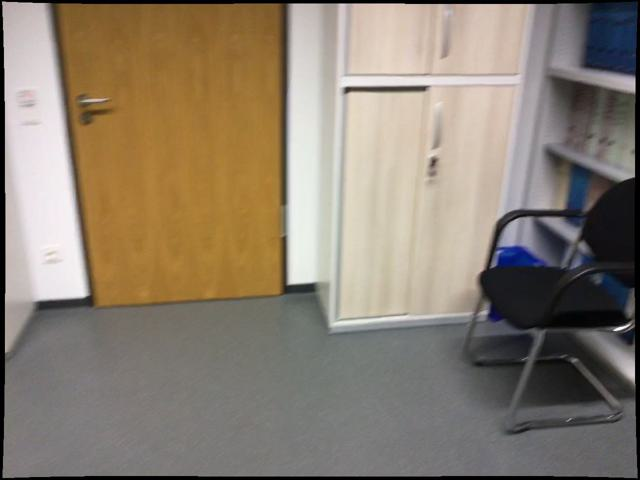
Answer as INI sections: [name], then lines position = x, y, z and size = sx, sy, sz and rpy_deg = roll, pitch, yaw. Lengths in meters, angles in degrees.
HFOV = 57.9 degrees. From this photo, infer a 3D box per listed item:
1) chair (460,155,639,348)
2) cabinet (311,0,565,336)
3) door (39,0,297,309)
[chair]
position = 0.969, 0.010, 2.100
size = 0.709, 0.480, 0.530
rpy_deg = -4, 23, -8
[cabinet]
position = 0.460, -0.751, 2.530
size = 0.919, 2.302, 0.530
rpy_deg = -4, 23, -9
[door]
position = -0.649, -0.741, 2.640
size = 1.029, 2.212, 0.180
rpy_deg = -4, 23, -9
